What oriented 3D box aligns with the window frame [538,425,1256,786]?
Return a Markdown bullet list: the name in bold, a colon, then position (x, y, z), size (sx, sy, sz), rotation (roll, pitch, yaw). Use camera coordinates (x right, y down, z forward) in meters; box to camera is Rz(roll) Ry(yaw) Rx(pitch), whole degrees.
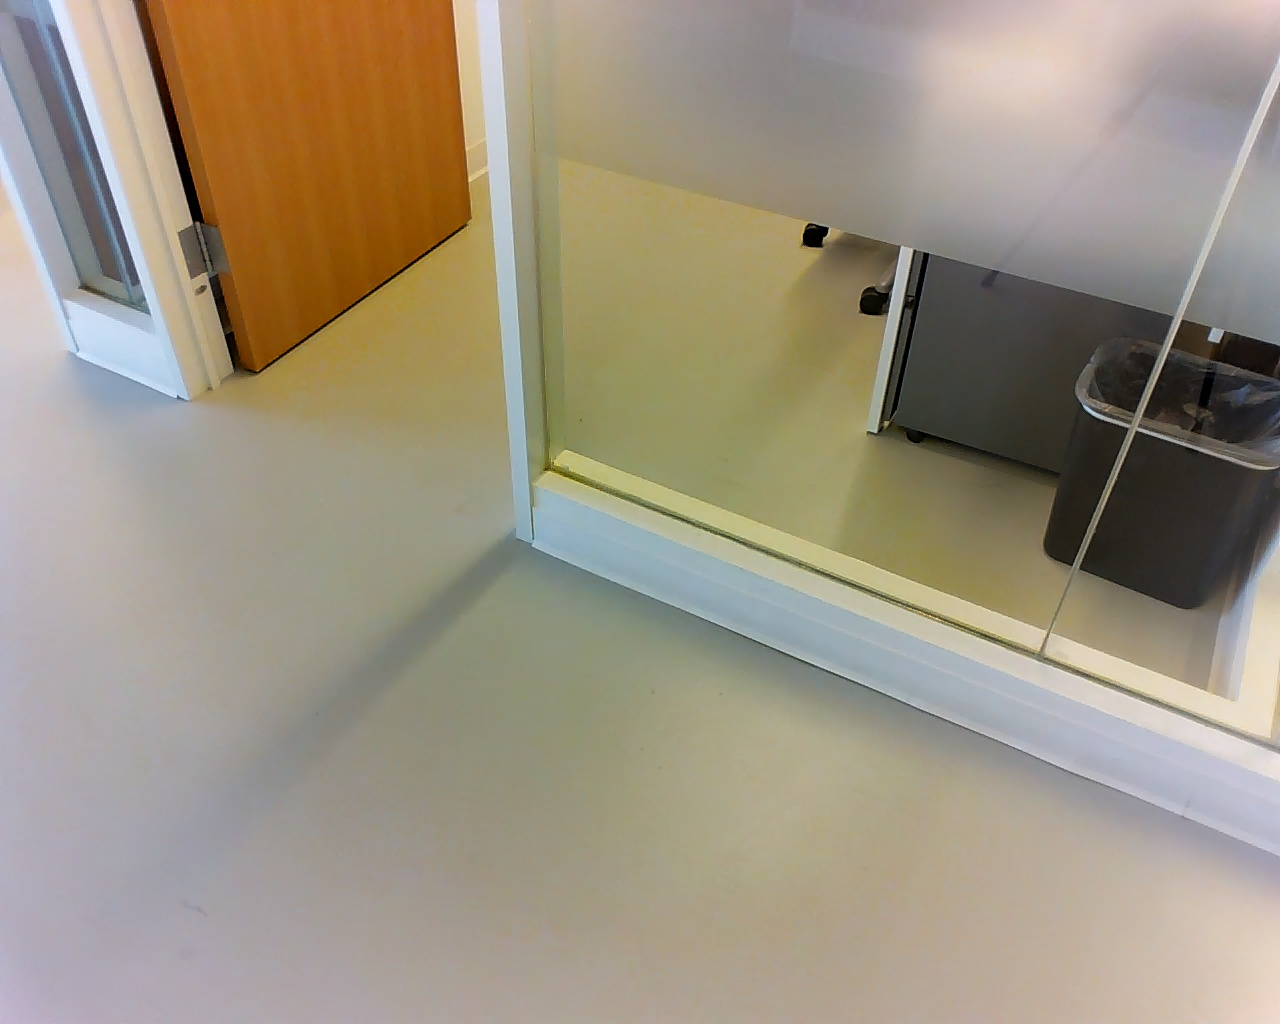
- **window frame**: position (0.390, 0.120, 1.860), size (1.210, 0.090, 0.200), rotation (21, 45, 21)
